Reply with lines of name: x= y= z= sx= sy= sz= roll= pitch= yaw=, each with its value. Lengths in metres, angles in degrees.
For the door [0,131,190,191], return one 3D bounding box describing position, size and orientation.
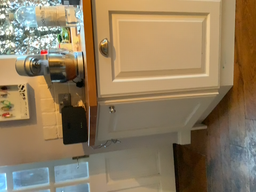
door: x=-0.430 y=0.860 z=1.970 sx=0.040 sy=2.170 sz=0.810 roll=170 pitch=95 yaw=-76
